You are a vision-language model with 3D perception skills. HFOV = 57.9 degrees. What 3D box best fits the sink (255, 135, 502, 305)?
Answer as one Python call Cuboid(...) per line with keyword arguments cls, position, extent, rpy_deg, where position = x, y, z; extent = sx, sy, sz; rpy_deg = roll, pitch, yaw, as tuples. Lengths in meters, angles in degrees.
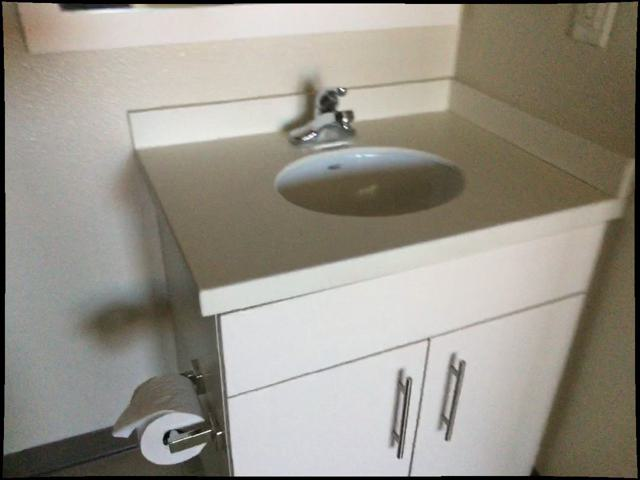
Cuboid(cls="sink", position=(0.100, -0.060, 1.150), extent=(0.380, 0.150, 0.300), rpy_deg=(-11, 33, -18))
